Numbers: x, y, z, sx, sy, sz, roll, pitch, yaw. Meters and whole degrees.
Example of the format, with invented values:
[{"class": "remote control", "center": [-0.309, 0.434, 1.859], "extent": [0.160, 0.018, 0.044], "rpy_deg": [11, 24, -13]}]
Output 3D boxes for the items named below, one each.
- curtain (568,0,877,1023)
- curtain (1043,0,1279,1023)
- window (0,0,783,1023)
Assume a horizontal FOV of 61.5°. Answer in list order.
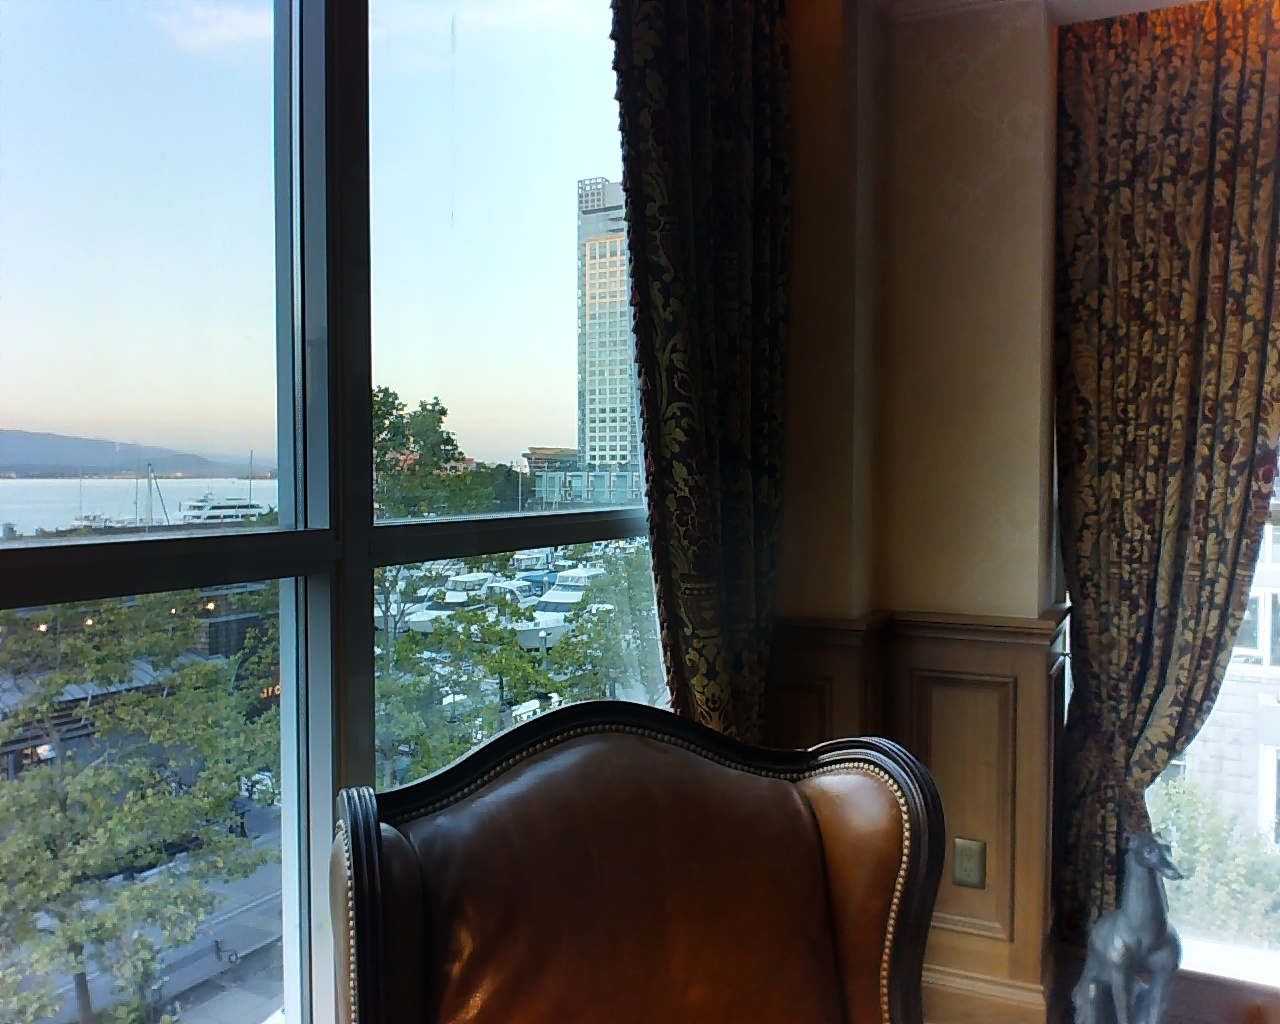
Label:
[{"class": "curtain", "center": [0.220, 0.020, 2.260], "extent": [0.300, 2.671, 0.940], "rpy_deg": [1, 2, 27]}, {"class": "curtain", "center": [1.470, 0.000, 2.670], "extent": [0.840, 2.651, 0.100], "rpy_deg": [1, 2, 27]}, {"class": "window", "center": [-0.750, 0.050, 0.680], "extent": [0.290, 2.671, 4.170], "rpy_deg": [1, 2, 27]}]
